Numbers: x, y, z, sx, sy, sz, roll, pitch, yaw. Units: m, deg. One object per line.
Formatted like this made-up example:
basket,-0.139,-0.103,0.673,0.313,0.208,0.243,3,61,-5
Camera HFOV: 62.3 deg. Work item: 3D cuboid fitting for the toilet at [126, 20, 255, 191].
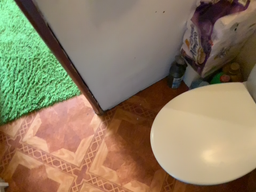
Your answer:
toilet,0.370,0.110,0.880,0.610,0.750,0.370,-21,69,-4
